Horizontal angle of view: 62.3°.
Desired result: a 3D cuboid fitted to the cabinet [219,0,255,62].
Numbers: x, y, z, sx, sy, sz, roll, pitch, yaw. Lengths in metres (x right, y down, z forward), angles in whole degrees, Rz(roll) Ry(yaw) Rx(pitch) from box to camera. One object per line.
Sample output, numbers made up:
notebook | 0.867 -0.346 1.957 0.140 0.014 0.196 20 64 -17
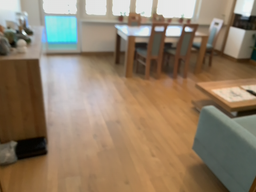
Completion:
cabinet | 2.910 -1.750 5.340 0.480 1.630 0.610 -4 28 -16
